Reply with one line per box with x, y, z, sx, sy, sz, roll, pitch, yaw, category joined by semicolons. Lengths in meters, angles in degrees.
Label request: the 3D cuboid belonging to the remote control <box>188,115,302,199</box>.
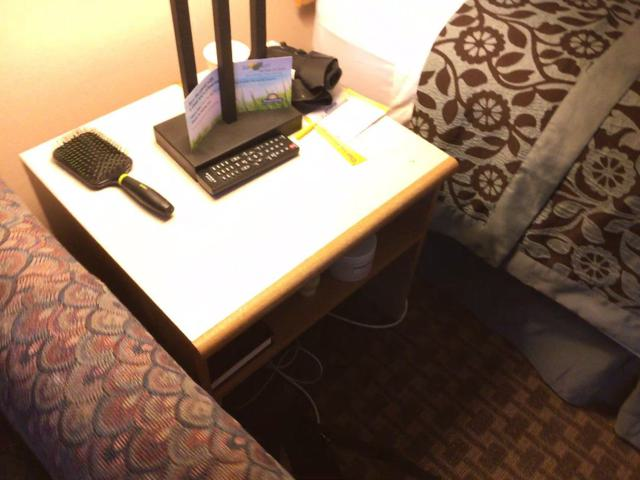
-0.120;-0.140;0.950;0.180;0.030;0.070;-36;57;-27;remote control
